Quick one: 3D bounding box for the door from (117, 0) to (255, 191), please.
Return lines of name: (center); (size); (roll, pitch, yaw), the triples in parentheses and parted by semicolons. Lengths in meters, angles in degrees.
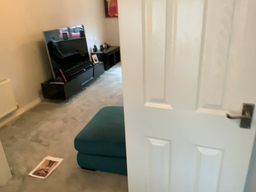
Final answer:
door: (0.270, 0.070, 0.960); (0.630, 1.950, 0.020); (6, 24, 19)
